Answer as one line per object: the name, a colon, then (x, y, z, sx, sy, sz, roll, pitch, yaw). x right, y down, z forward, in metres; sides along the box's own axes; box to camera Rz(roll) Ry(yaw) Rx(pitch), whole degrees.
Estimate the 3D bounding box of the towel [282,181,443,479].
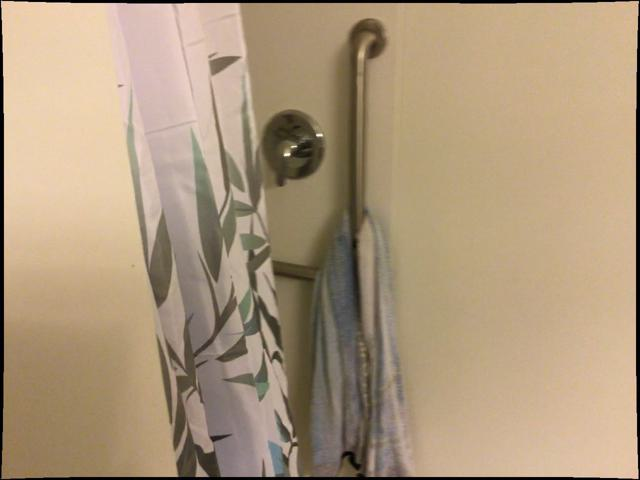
towel: (0.110, 0.291, 1.420, 0.299, 0.822, 0.190, 9, 27, 23)
